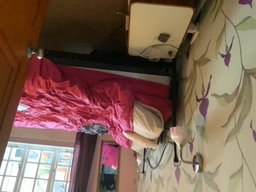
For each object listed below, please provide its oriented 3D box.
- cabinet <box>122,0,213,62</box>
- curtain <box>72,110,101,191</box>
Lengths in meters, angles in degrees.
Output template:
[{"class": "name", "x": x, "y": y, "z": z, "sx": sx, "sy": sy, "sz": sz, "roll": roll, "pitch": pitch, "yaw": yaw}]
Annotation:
[{"class": "cabinet", "x": 0.230, "y": -0.590, "z": 1.540, "sx": 0.490, "sy": 0.400, "sz": 0.580, "roll": 5, "pitch": 158, "yaw": -2}, {"class": "curtain", "x": -0.800, "y": 1.420, "z": 3.910, "sx": 0.320, "sy": 2.370, "sz": 0.140, "roll": 6, "pitch": 158, "yaw": -4}]
